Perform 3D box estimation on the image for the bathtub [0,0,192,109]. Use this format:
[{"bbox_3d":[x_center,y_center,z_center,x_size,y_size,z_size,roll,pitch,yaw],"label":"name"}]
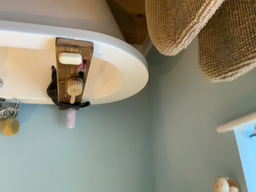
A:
[{"bbox_3d":[-0.730,-0.380,1.180,1.810,0.640,0.880,2,159,-15],"label":"bathtub"}]
